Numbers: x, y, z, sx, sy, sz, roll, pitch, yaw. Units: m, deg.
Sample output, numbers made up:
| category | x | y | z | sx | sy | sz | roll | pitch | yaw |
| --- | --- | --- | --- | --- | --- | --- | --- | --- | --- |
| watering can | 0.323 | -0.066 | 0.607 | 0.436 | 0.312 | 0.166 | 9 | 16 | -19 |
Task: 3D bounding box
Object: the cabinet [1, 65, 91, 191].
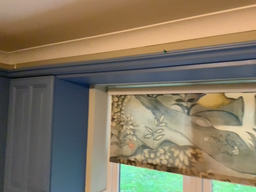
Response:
| category | x | y | z | sx | sy | sz | roll | pitch | yaw |
| --- | --- | --- | --- | --- | --- | --- | --- | --- | --- |
| cabinet | -0.520 | 0.270 | 1.360 | 0.430 | 0.850 | 0.300 | -1 | -4 | 31 |
